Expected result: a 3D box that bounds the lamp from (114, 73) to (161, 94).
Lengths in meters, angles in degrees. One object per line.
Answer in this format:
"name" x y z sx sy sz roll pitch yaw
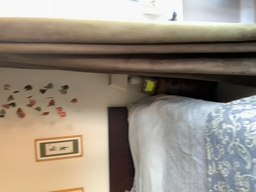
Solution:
"lamp" 0.100 -0.150 2.480 0.310 0.470 0.220 -167 76 -74
